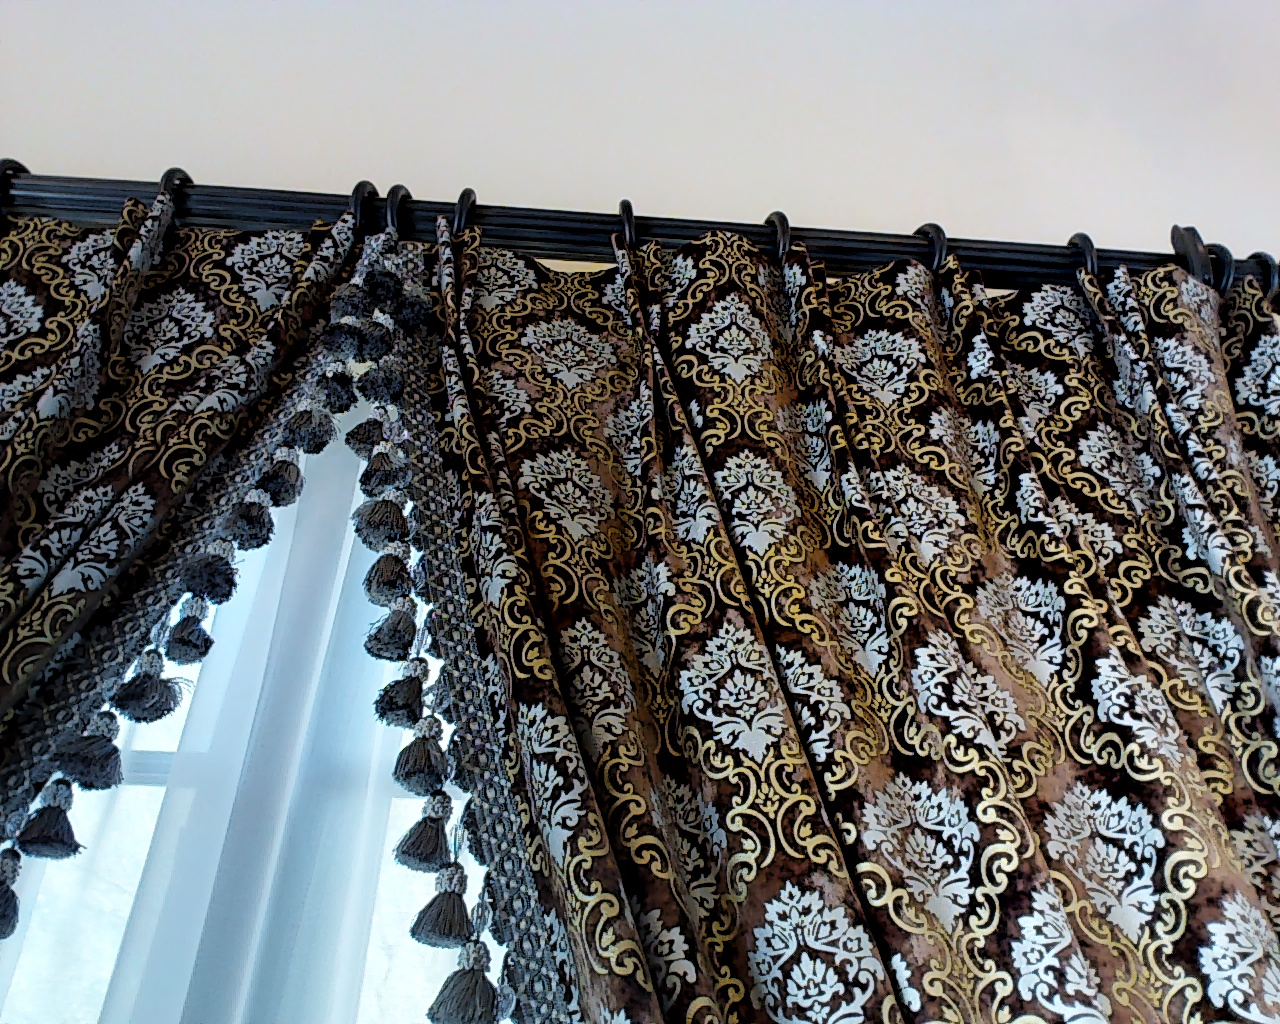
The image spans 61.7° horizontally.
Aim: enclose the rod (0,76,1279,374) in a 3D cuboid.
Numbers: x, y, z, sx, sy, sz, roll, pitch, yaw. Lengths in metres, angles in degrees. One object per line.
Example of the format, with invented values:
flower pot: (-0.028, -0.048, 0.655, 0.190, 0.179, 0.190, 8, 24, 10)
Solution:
rod: (-0.260, -0.300, 1.080, 2.110, 0.170, 0.160, 2, -42, -3)
